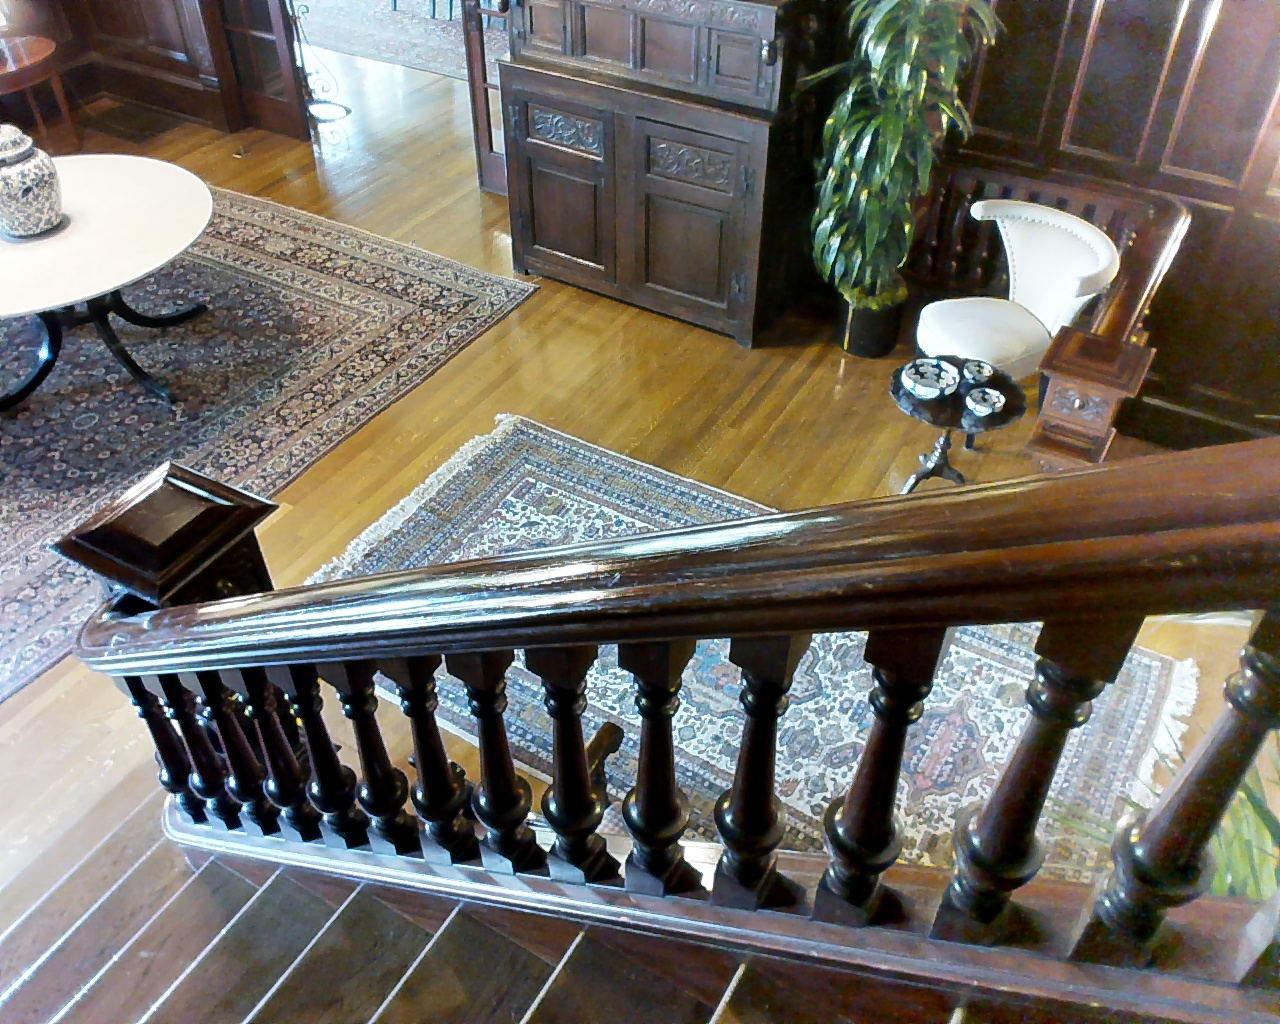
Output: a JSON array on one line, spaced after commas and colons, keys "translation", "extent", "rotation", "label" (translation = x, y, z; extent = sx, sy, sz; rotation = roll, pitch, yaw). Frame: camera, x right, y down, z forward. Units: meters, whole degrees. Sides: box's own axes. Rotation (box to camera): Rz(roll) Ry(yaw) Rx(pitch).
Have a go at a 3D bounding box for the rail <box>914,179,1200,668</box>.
[{"translation": [1.480, -0.360, 3.780], "extent": [0.330, 1.010, 1.550], "rotation": [22, 47, 22], "label": "rail"}]
